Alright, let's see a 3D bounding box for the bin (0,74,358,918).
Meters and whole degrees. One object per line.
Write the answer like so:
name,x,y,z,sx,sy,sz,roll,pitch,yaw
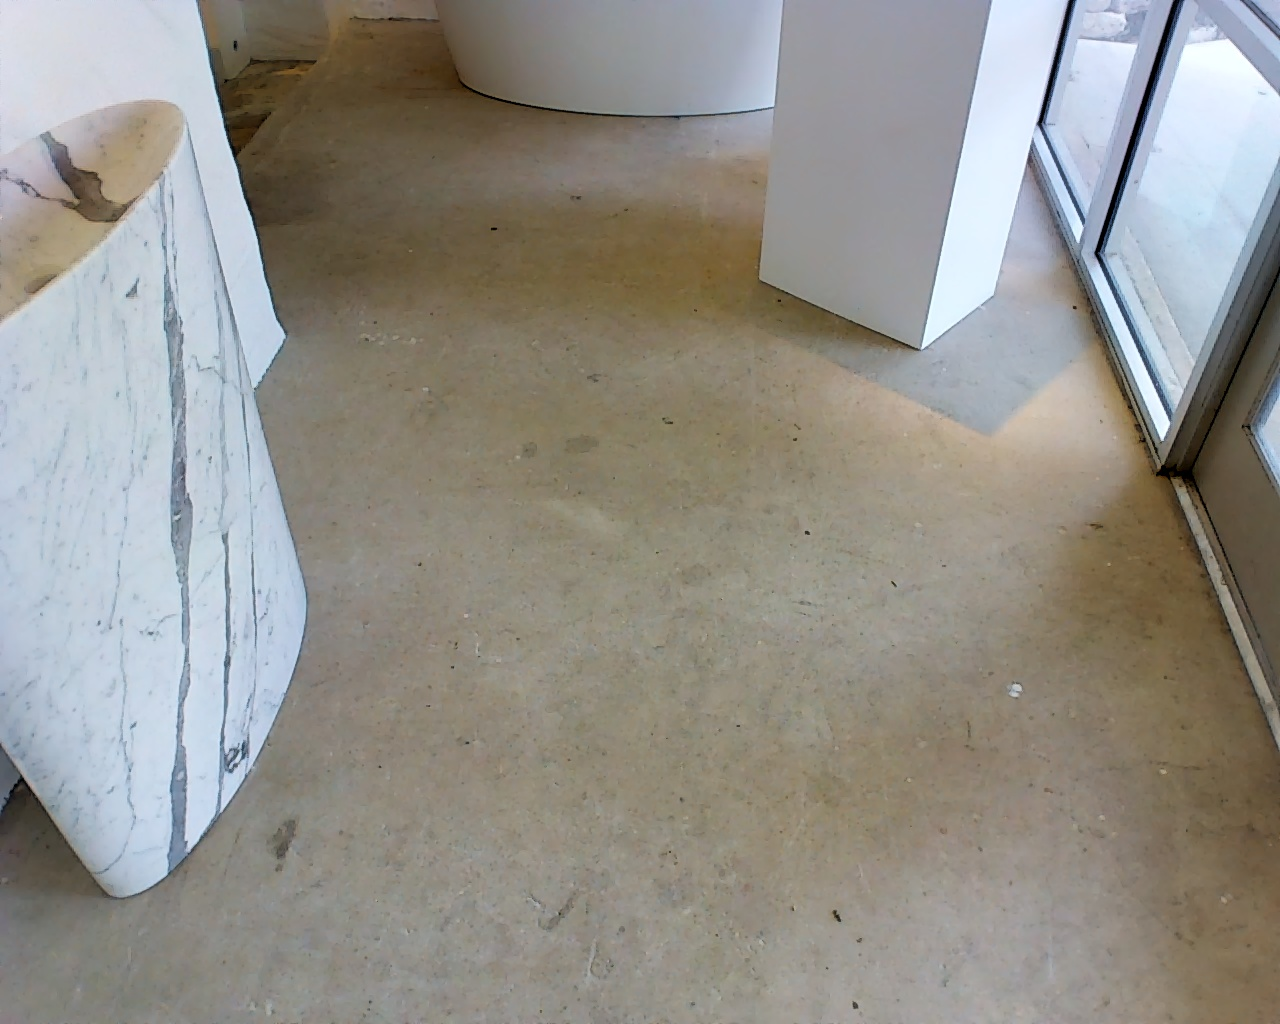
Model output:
bin,-0.750,-0.010,1.560,0.310,0.950,0.750,4,43,4
